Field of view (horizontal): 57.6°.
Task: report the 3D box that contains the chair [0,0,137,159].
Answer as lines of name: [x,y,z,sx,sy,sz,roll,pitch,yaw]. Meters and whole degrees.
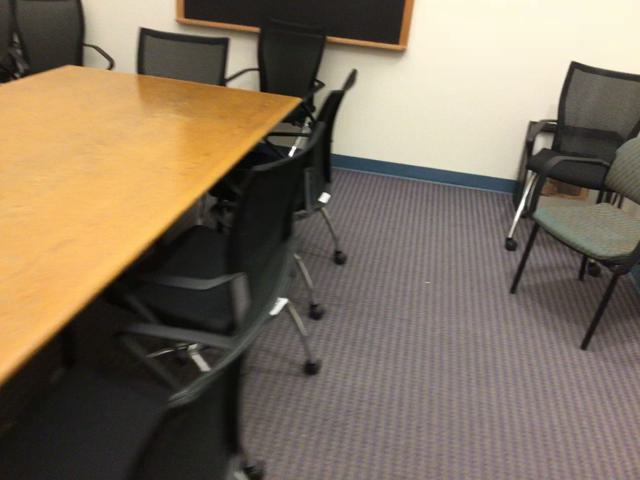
chair: [-1.580,-1.080,3.670,0.570,0.910,0.570,-17,35,-33]

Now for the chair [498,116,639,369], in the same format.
chair: [1.180,-0.020,2.290,0.580,0.770,0.520,-9,31,-22]

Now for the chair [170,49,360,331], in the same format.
chair: [-0.200,-0.230,2.440,0.570,0.940,0.630,9,29,8]

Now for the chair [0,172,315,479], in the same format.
chair: [-0.370,0.440,1.110,0.560,0.910,0.600,9,29,8]

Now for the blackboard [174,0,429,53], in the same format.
blackboard: [-0.110,-1.690,3.330,1.530,1.030,0.130,9,29,8]

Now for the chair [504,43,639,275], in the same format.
chair: [1.390,-0.430,2.900,0.540,0.910,0.610,24,34,31]

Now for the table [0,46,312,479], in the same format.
table: [-0.960,0.060,1.930,1.340,0.800,2.490,9,29,8]

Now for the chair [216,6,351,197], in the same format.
chair: [-0.220,-0.850,3.500,0.540,0.930,0.590,16,31,21]

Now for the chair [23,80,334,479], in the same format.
chair: [-0.340,0.090,1.760,0.590,0.930,0.650,9,29,8]
